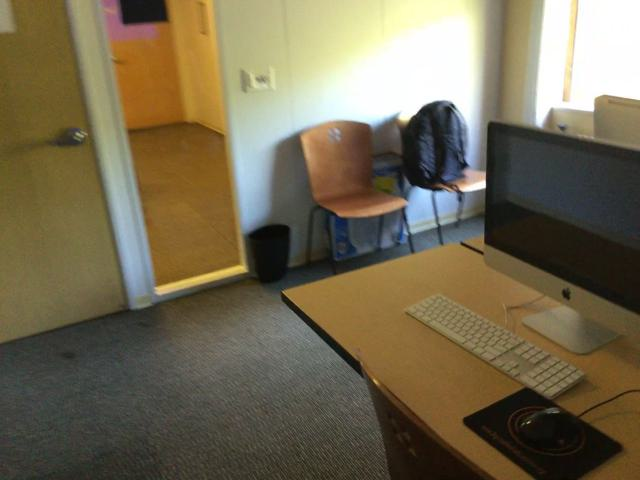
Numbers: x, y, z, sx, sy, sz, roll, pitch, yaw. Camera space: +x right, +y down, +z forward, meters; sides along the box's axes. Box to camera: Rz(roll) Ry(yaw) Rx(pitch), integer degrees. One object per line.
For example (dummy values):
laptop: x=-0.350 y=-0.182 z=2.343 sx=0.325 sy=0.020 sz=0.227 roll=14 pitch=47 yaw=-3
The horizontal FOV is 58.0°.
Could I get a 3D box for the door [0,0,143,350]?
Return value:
door: x=-1.350 y=-0.460 z=2.420 sx=0.850 sy=1.900 sz=0.190 roll=-13 pitch=24 yaw=-24
